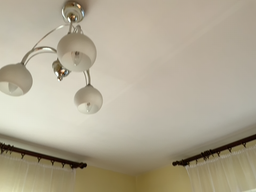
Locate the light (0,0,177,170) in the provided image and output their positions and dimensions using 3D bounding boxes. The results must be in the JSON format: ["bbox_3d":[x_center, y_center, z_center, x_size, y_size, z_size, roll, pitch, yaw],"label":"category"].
[{"bbox_3d":[-0.210,-0.140,1.040,0.550,0.630,0.670,37,-141,-27],"label":"light"}]
